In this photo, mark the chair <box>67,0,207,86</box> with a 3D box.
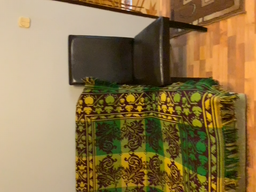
[{"bbox_3d":[0.050,-0.330,1.720,0.640,0.940,0.460,1,91,63],"label":"chair"}]
